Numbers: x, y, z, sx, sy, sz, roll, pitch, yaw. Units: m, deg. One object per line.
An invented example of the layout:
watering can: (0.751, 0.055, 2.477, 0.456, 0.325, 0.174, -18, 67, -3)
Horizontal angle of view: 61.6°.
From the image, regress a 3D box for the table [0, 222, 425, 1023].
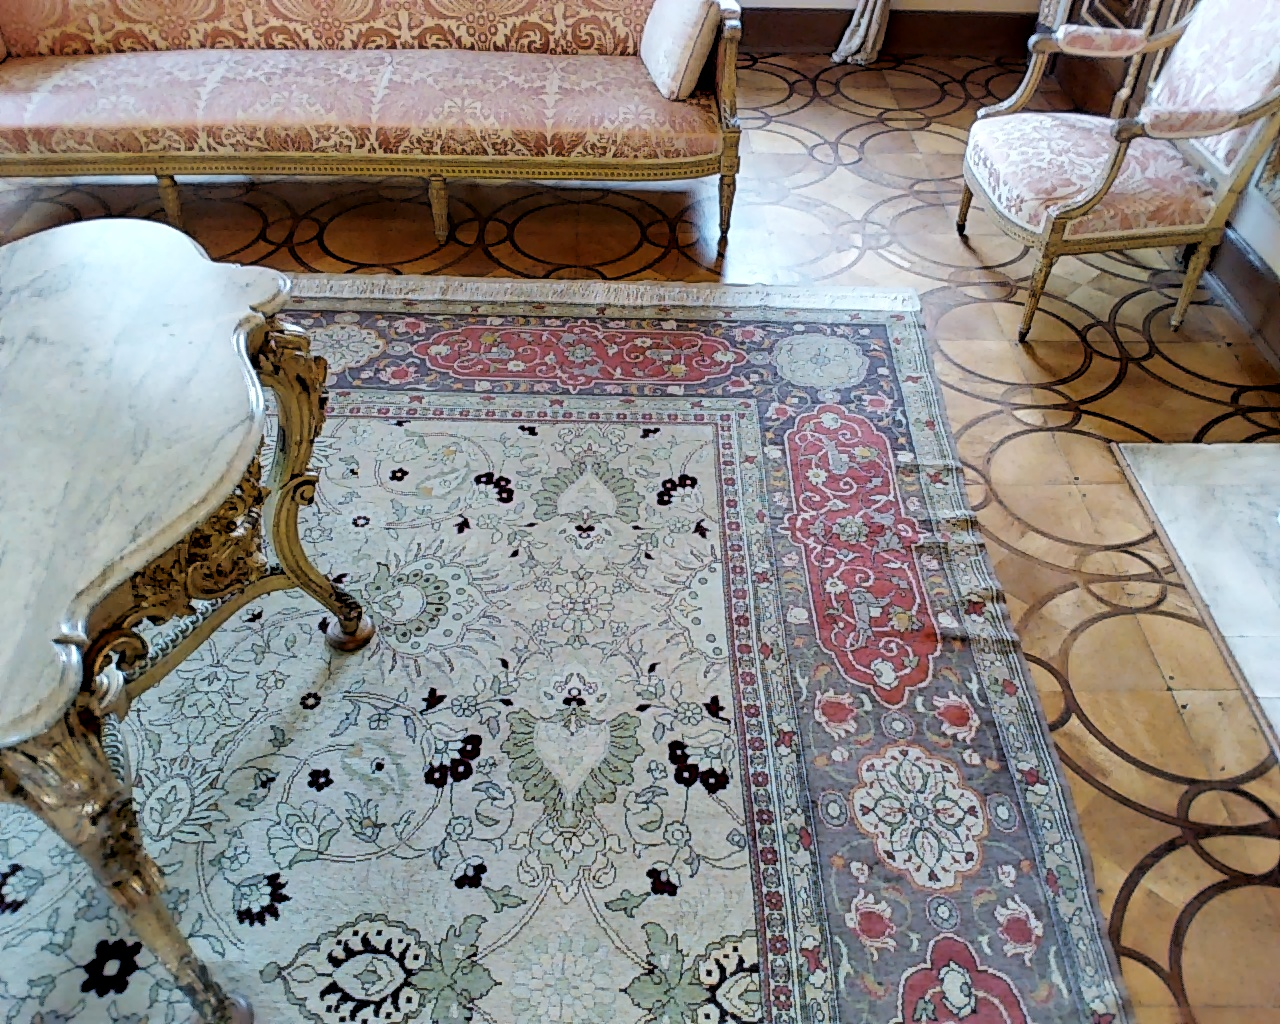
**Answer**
table: (-0.890, 0.210, 1.690, 0.830, 0.830, 1.190, 0, 42, -1)
